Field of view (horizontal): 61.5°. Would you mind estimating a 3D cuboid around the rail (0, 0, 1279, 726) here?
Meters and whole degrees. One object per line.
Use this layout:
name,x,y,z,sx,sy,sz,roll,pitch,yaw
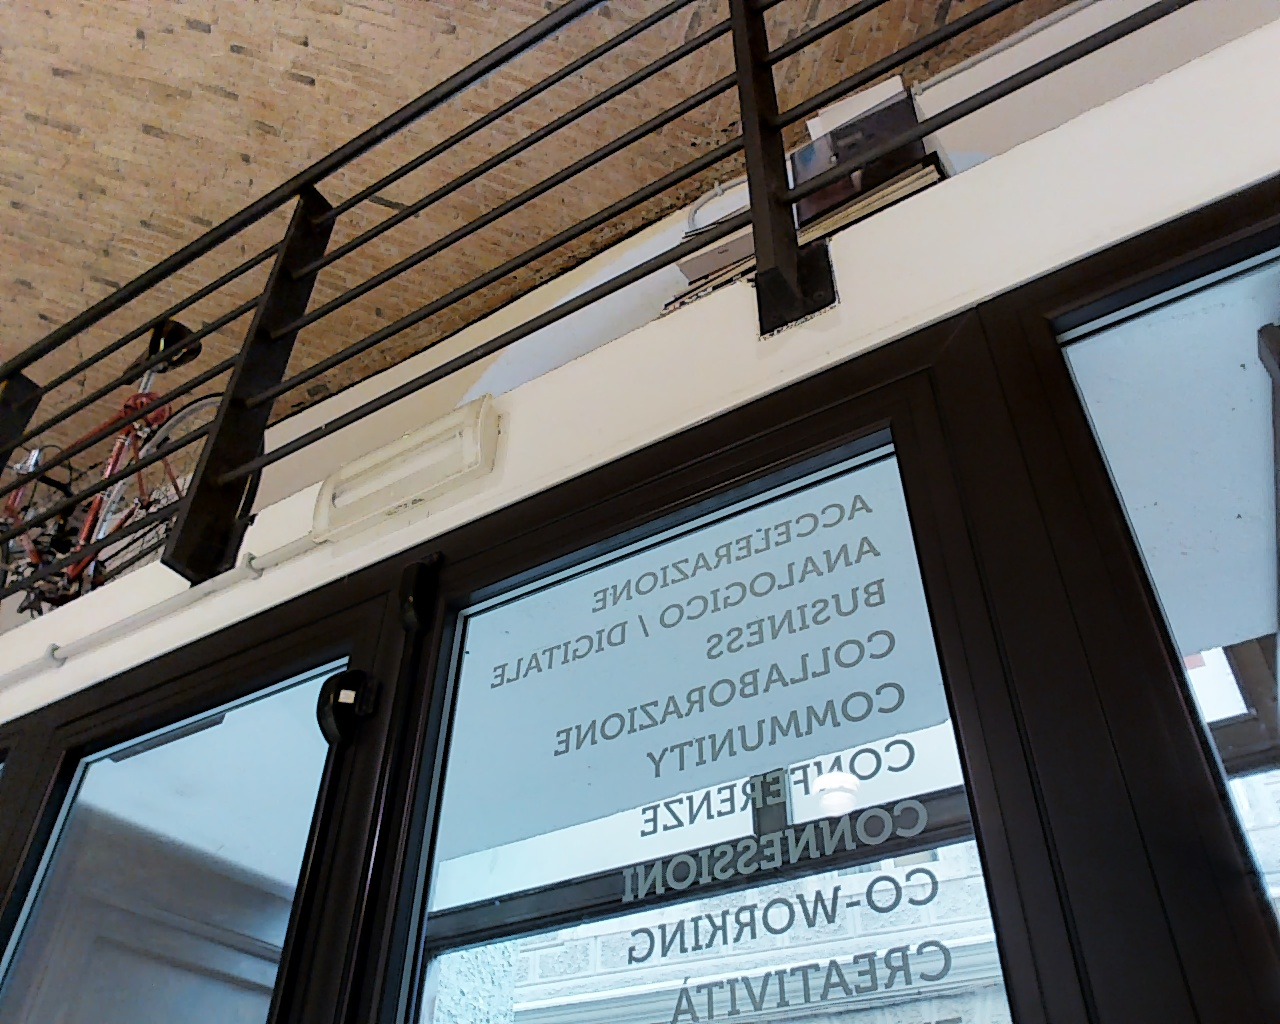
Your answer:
rail,-0.160,-0.620,2.030,4.099,1.270,0.340,-21,-46,23
